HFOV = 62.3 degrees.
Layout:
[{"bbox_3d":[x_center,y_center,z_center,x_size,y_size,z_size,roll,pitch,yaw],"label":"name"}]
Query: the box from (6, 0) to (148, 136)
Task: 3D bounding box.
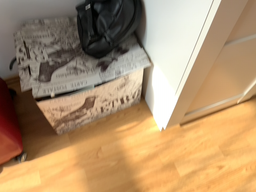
[{"bbox_3d":[-0.230,-0.140,1.040,0.490,0.350,0.410,-20,61,-14],"label":"box"}]
